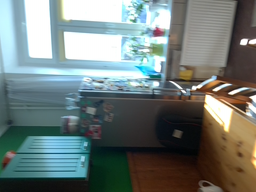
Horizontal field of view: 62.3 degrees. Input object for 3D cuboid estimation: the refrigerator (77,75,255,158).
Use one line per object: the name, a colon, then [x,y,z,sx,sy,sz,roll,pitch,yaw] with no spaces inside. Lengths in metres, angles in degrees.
refrigerator: [0.410,0.210,2.430,0.590,1.870,0.740,-110,22,-73]
